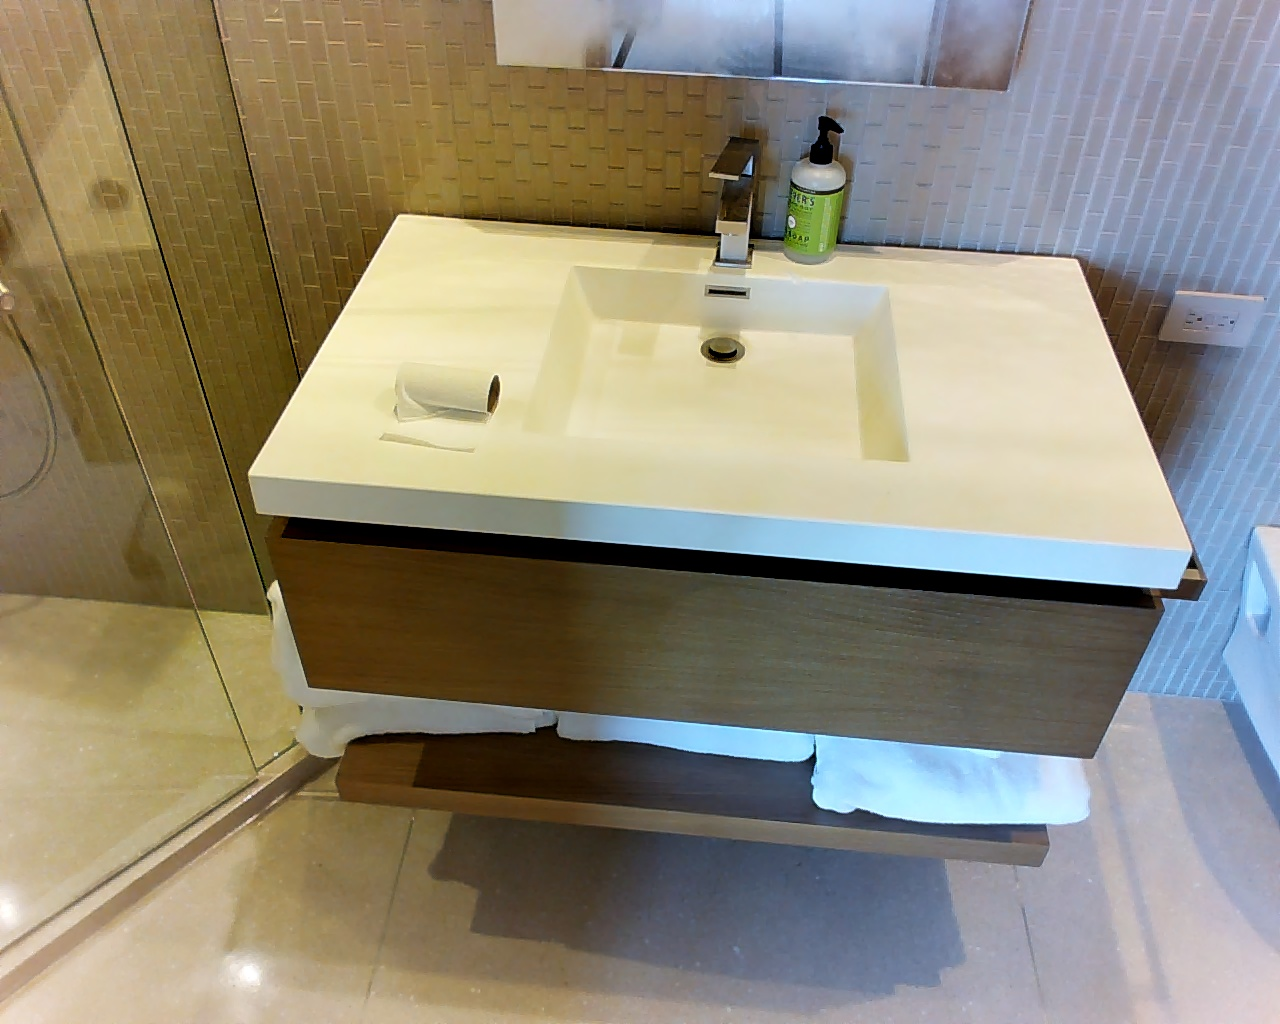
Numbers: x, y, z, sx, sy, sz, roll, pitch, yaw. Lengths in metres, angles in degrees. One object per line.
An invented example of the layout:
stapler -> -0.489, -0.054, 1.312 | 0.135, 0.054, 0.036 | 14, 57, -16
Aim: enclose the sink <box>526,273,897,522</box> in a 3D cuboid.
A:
sink -> 0.090, -0.150, 1.290 | 0.390, 0.090, 0.340 | 5, 41, 4
